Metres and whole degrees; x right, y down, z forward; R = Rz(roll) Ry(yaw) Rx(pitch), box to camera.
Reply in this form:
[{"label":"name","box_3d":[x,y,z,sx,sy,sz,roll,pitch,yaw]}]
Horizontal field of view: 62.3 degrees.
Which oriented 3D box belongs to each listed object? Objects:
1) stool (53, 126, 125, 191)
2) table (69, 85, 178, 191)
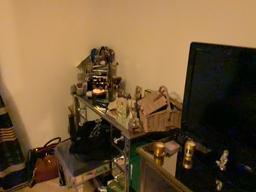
[{"label":"stool","box_3d":[-0.330,0.620,1.810,0.440,0.510,0.430,-11,22,-32]},{"label":"table","box_3d":[-0.120,0.430,1.930,0.410,0.790,1.050,-12,23,-34]}]
